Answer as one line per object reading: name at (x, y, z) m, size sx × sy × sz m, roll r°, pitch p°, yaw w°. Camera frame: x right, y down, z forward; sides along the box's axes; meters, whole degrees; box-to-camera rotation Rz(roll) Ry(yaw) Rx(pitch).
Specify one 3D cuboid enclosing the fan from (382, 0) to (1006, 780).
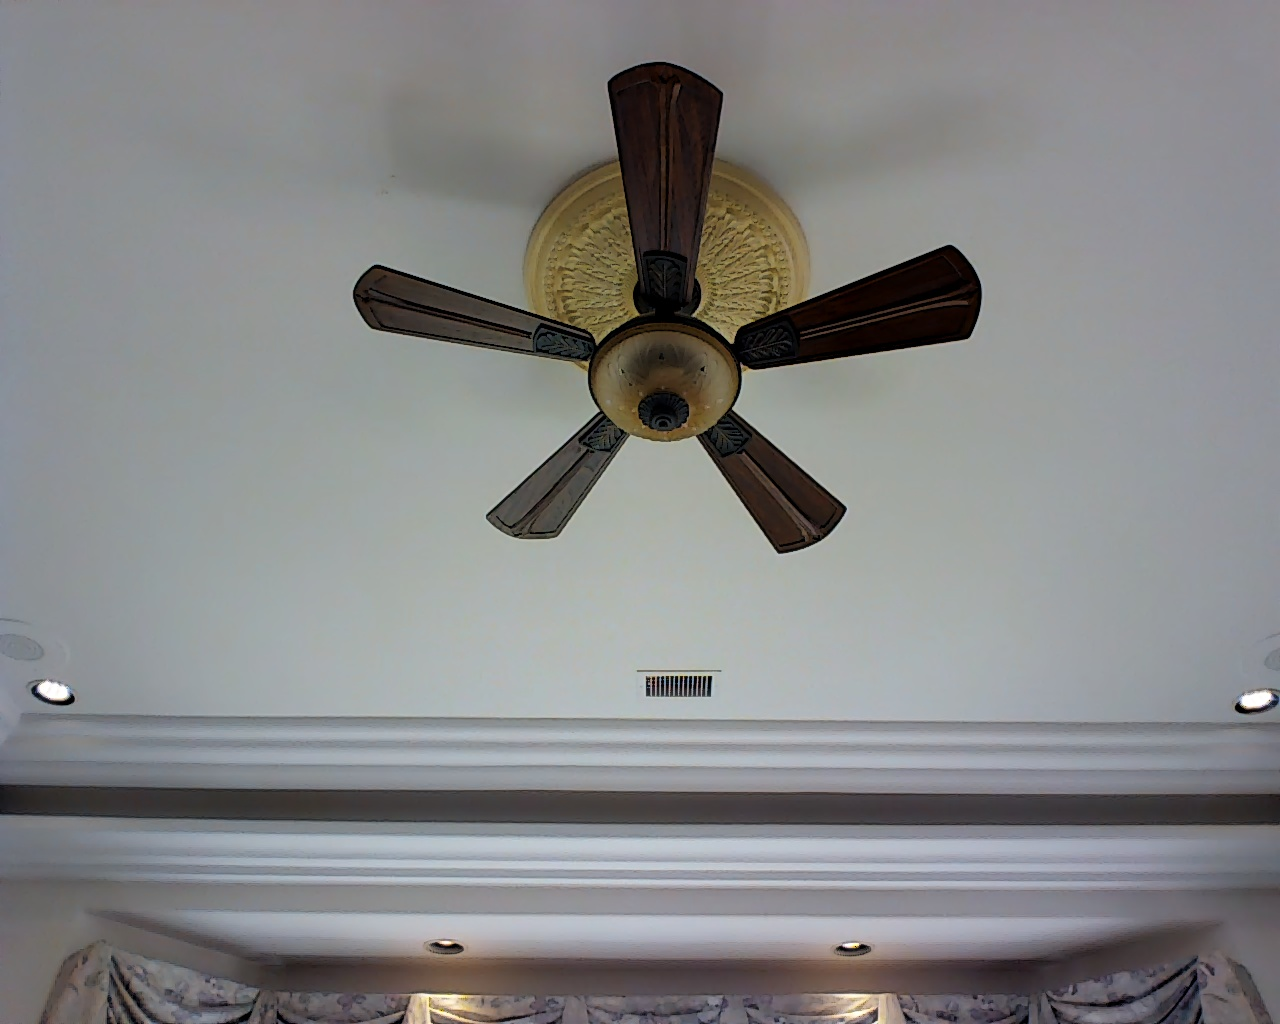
fan at (0.000, -0.360, 2.430) m, size 0.510 × 1.350 × 1.350 m, roll -23°, pitch 53°, yaw -19°
